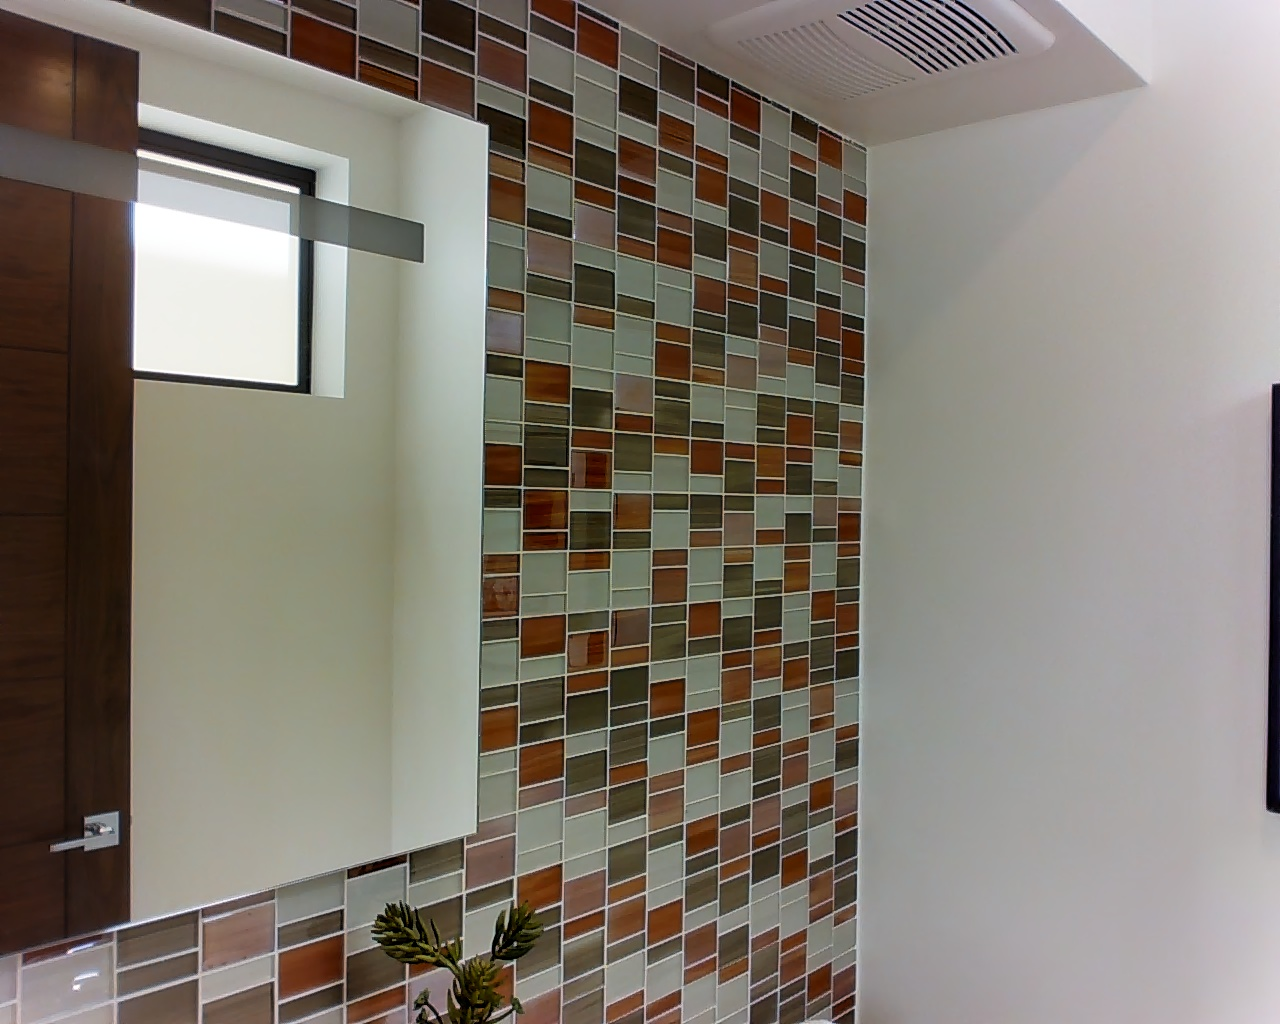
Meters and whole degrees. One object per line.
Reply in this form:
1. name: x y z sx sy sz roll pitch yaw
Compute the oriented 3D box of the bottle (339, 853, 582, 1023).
1. bottle: -0.180 0.510 1.080 0.170 0.260 0.170 1 0 43
